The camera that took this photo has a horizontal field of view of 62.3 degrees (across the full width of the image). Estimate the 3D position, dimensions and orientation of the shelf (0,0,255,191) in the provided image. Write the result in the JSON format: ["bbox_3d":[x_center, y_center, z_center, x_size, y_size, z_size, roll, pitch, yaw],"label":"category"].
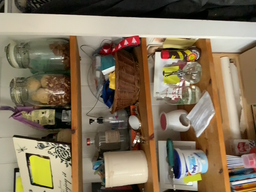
[{"bbox_3d":[0.050,0.180,0.890,0.440,1.250,0.940,140,127,-76],"label":"shelf"}]
